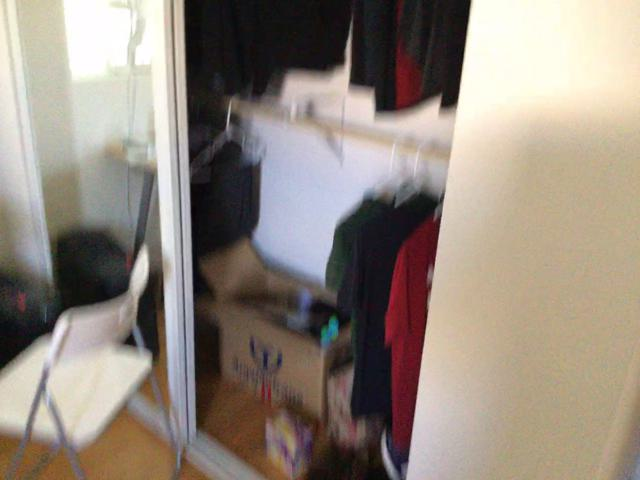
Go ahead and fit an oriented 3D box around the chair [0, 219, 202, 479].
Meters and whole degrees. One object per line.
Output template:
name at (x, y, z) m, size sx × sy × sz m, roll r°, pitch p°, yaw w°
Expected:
chair at (-0.750, 0.410, 1.770) m, size 0.560 × 0.750 × 0.540 m, roll 9°, pitch 22°, yaw 15°
